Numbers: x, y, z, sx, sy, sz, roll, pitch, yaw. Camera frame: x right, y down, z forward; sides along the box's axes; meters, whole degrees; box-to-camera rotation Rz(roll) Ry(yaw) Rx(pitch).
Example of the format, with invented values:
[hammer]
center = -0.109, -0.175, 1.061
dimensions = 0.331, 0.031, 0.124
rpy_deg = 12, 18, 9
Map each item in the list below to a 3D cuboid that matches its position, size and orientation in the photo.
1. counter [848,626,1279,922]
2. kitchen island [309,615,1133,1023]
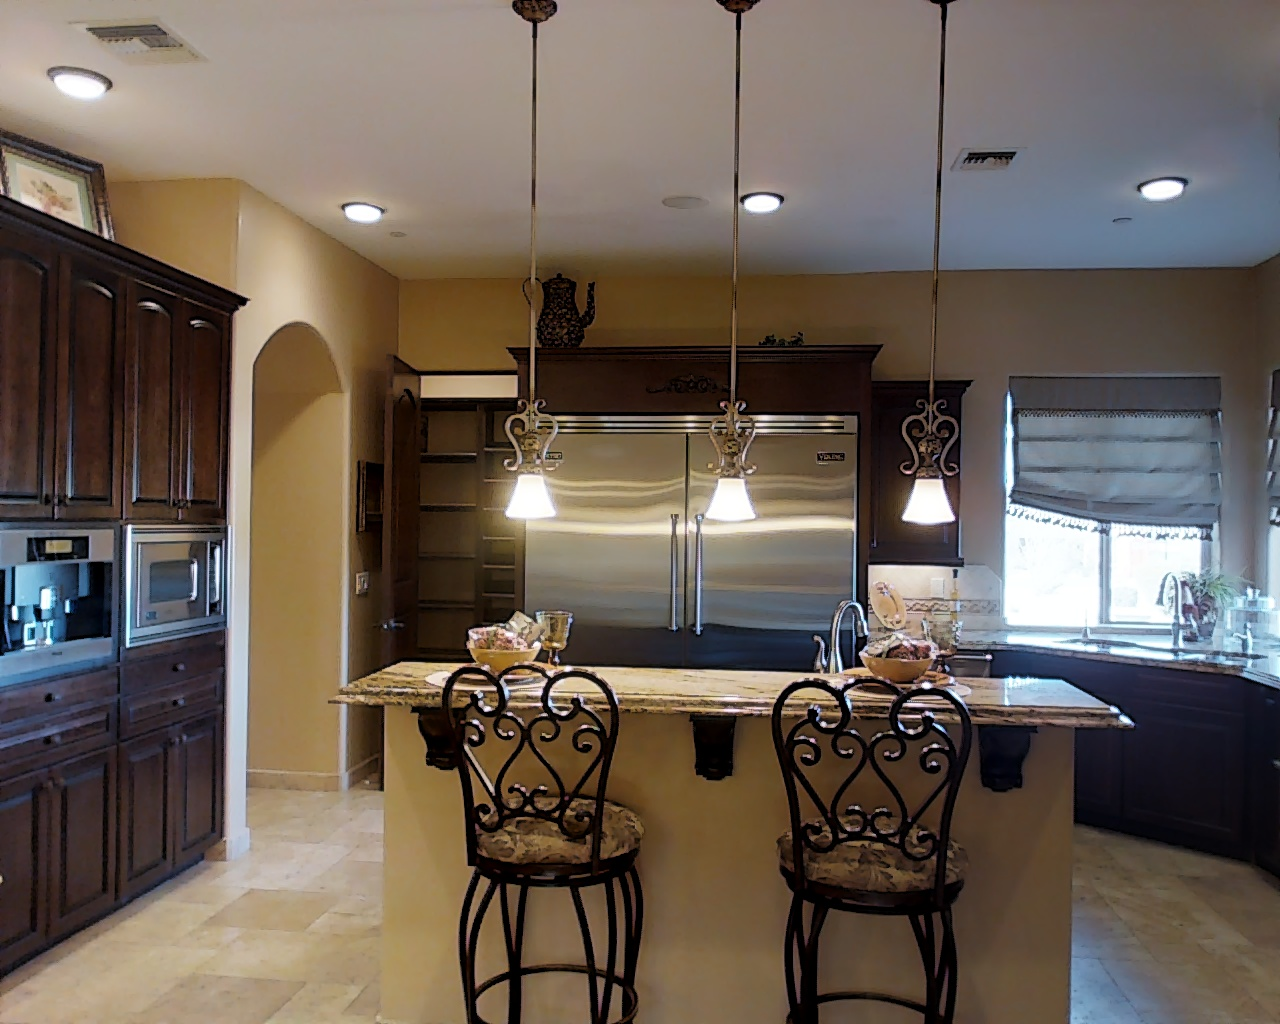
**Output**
[counter]
center = 2.110, 0.740, 4.120
dimensions = 2.250, 0.110, 4.390
rpy_deg = 1, 0, 7
[kitchen island]
center = 0.270, 1.000, 3.610
dimensions = 2.030, 1.090, 1.950
rpy_deg = 1, 0, 7
